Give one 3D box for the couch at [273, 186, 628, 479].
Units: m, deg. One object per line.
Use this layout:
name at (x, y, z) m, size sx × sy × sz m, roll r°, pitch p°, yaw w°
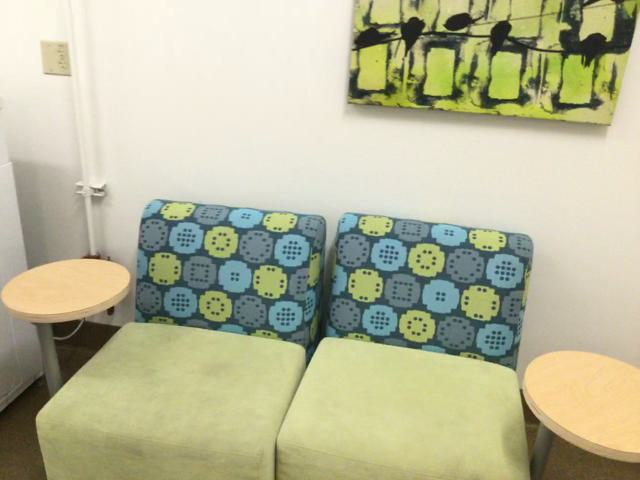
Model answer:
couch at (0.300, 0.410, 1.660) m, size 0.670 × 0.880 × 0.810 m, roll 7°, pitch 21°, yaw 9°
